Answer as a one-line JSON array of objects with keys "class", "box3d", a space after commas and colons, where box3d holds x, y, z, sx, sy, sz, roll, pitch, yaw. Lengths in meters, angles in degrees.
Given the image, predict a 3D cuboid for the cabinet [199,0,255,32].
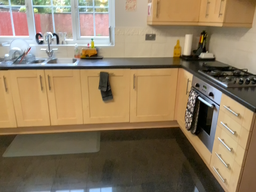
[{"class": "cabinet", "box3d": [1.110, -1.150, 2.310, 0.340, 0.820, 0.600, -1, 20, -6]}]
